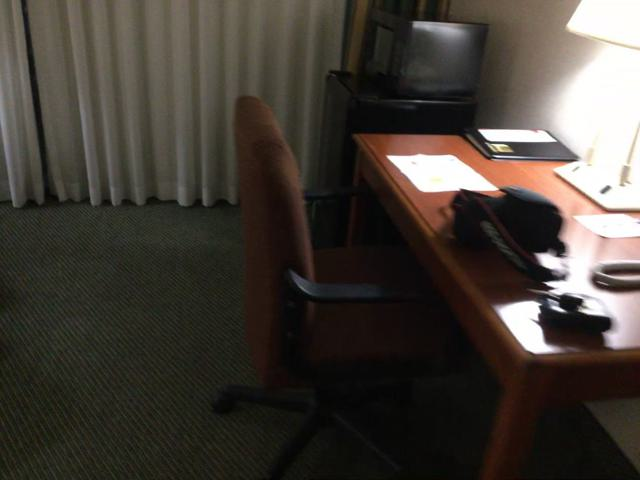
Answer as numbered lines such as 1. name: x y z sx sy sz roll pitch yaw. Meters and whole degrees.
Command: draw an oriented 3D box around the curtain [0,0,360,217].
1. curtain: -1.050 -1.100 2.480 2.440 2.030 0.310 0 27 -12
